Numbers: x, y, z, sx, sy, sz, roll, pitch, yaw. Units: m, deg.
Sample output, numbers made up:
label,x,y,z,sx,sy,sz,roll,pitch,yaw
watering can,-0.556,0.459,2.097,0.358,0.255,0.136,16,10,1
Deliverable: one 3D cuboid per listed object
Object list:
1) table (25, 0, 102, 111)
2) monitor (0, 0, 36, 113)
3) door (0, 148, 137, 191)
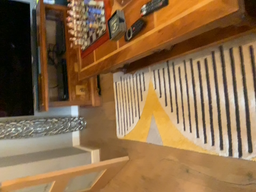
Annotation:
label,x,y,z,sx,sy,sz,roll,pitch,yaw
table,-0.810,-0.420,2.540,0.830,0.630,1.120,-11,82,56
monitor,-1.330,-0.420,2.100,0.080,0.720,1.180,-9,84,57
door,-0.970,0.800,1.660,0.840,2.050,0.100,-55,48,42
